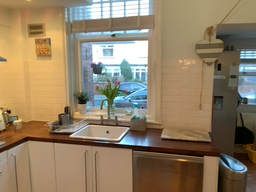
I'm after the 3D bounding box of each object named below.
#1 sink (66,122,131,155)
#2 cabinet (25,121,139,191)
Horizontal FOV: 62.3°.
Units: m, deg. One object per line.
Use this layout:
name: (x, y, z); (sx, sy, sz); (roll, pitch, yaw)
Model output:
sink: (-0.290, 0.440, 2.330); (0.530, 0.130, 0.580); (2, 8, 13)
cabinet: (-0.450, 0.830, 2.360); (1.020, 0.900, 0.660); (2, 8, 13)
